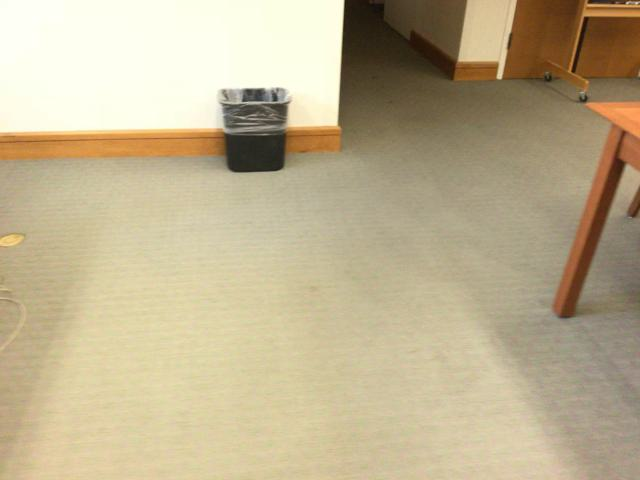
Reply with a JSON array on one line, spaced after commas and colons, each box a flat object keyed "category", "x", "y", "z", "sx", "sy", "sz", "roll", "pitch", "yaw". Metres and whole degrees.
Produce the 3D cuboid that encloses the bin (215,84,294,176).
[{"category": "bin", "x": -0.330, "y": -0.570, "z": 2.970, "sx": 0.360, "sy": 0.380, "sz": 0.280, "roll": -4, "pitch": 29, "yaw": -5}]
